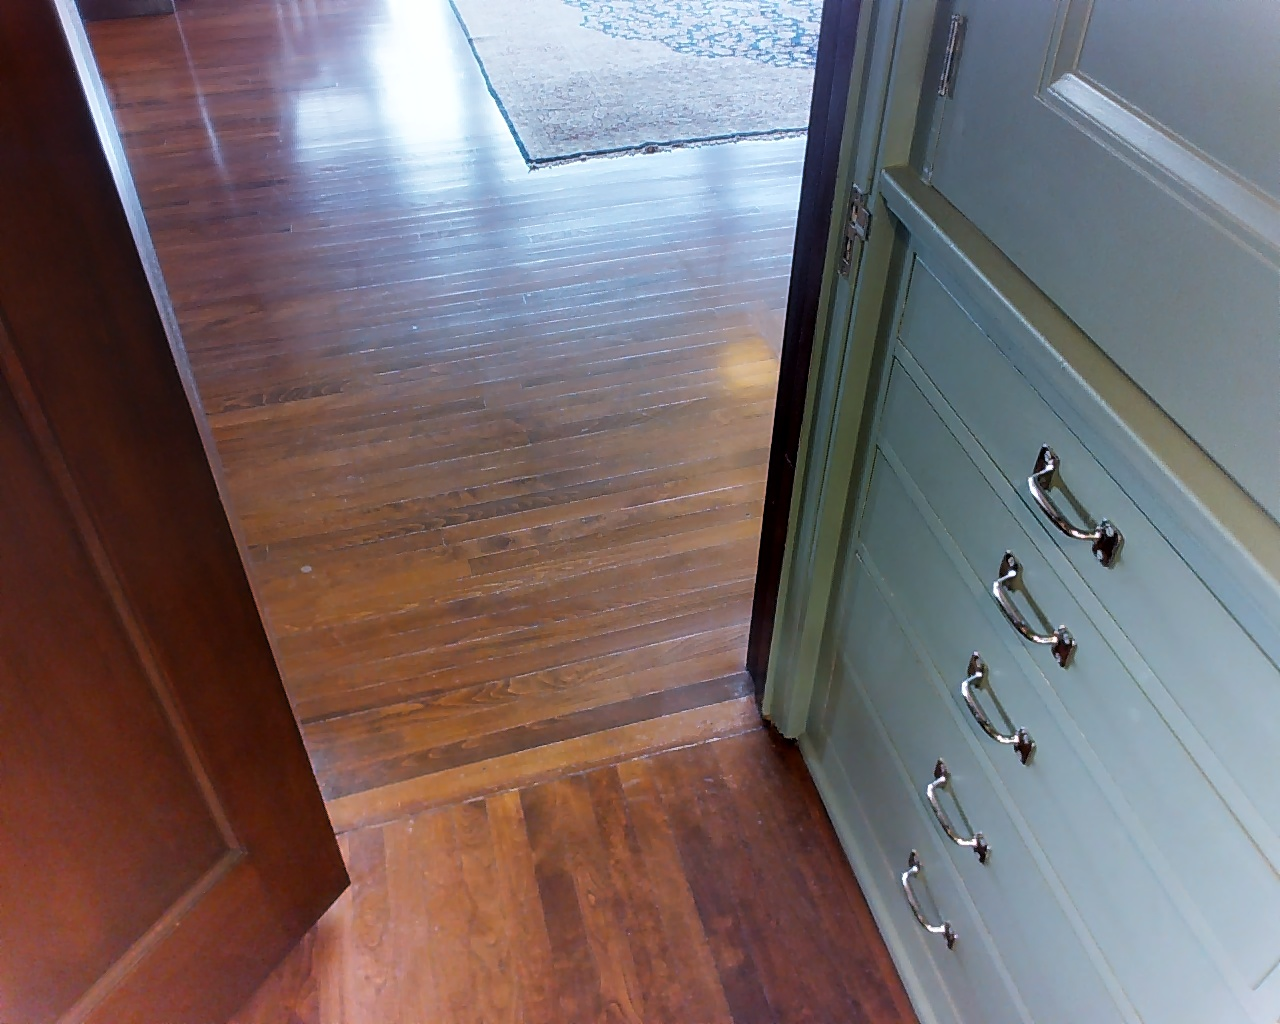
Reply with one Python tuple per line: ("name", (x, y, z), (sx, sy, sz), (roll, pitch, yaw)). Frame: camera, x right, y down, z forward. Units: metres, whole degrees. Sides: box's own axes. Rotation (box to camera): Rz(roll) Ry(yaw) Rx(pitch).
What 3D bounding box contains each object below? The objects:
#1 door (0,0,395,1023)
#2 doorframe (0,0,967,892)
("door", (-0.670, -0.010, 0.760), (0.070, 2.190, 0.880), (23, 47, 24))
("doorframe", (-0.130, -0.320, 1.130), (0.890, 2.170, 0.140), (-11, 44, -12))
